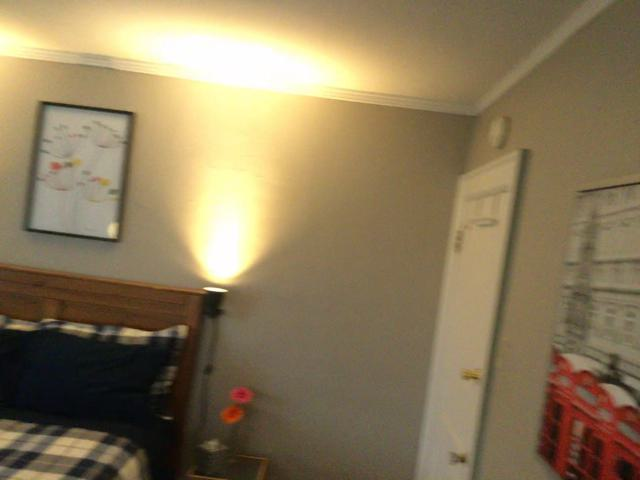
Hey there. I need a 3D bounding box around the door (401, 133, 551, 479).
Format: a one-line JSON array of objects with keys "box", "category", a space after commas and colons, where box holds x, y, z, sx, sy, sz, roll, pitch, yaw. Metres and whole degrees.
[{"box": [0.600, 0.700, 2.610, 0.130, 2.160, 1.050, 10, -2, 1], "category": "door"}]
